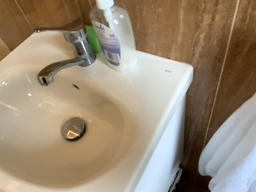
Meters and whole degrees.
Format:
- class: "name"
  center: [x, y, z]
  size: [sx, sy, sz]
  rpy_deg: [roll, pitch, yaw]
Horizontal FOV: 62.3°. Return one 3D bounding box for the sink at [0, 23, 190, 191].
- class: "sink"
  center: [-0.160, 0.040, 0.530]
  size: [0.490, 0.150, 0.380]
  rpy_deg: [22, 60, 24]
